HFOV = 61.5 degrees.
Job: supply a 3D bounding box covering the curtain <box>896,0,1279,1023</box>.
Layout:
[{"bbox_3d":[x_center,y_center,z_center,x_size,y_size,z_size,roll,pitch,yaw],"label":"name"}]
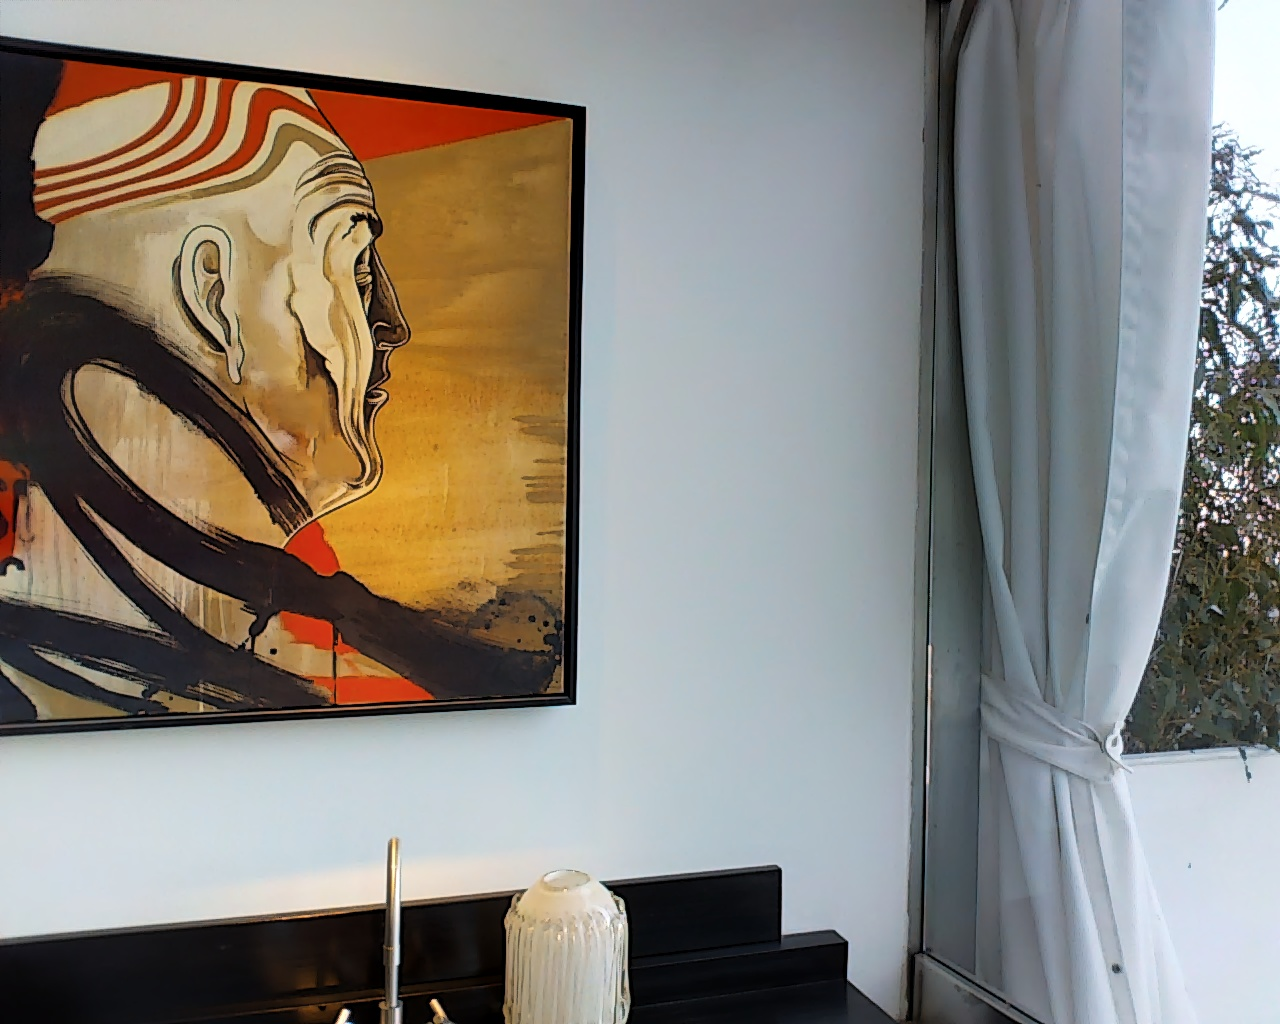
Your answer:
[{"bbox_3d":[0.710,-0.010,1.550,0.430,1.840,0.490,1,1,-20],"label":"curtain"}]
